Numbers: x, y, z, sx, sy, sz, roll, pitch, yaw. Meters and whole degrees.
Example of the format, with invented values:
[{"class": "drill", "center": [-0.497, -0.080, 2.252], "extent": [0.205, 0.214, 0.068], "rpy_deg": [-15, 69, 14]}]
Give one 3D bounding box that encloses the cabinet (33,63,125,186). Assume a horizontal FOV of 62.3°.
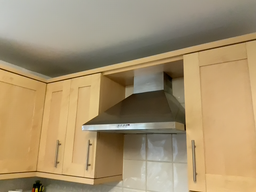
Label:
[{"class": "cabinet", "center": [-0.380, 0.230, 1.720], "extent": [0.600, 0.820, 0.340], "rpy_deg": [-7, -16, 31]}]
